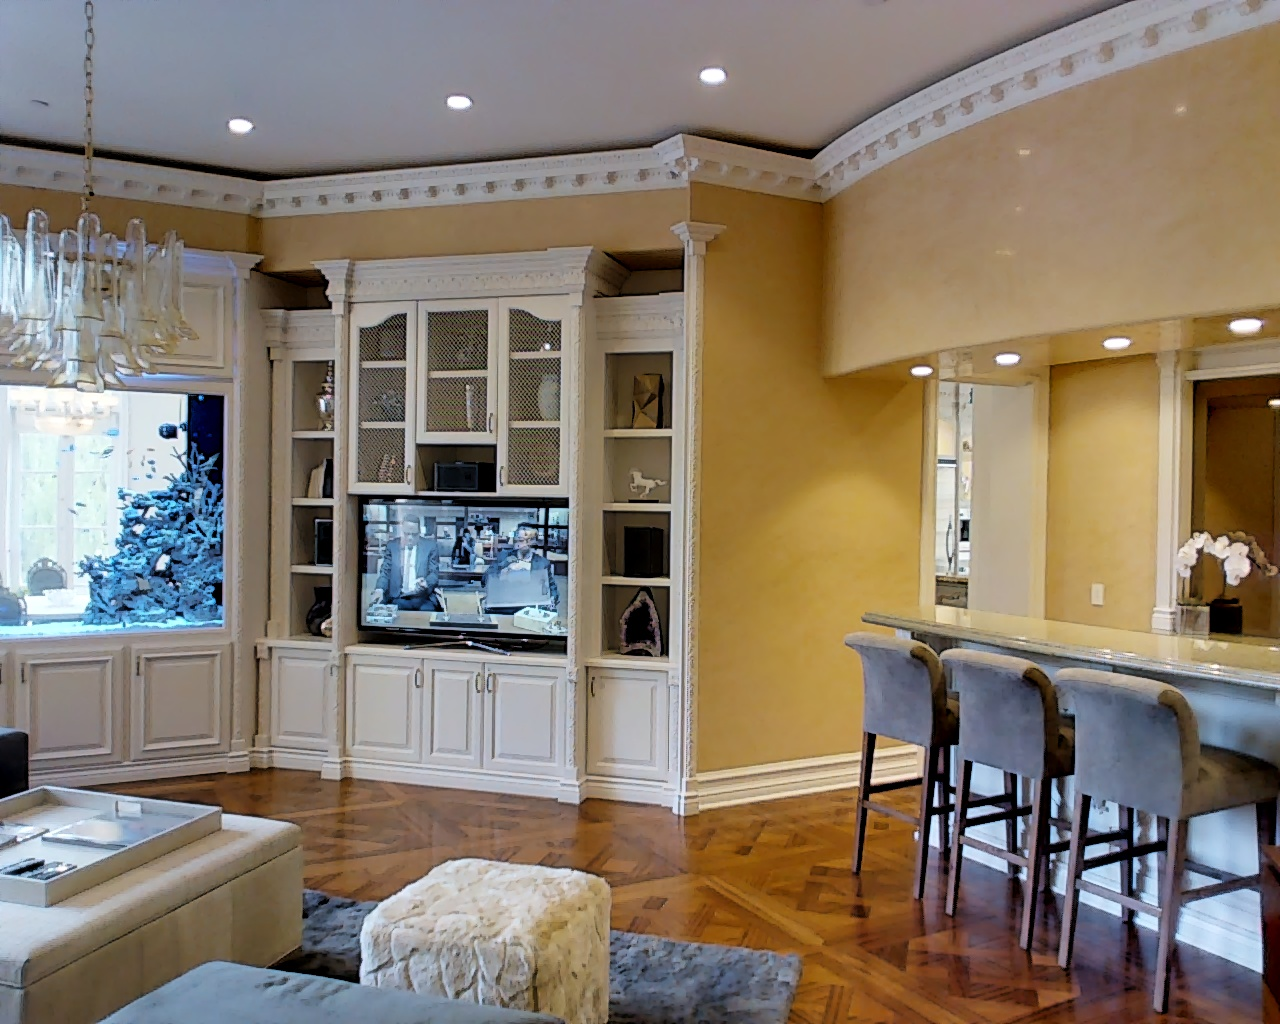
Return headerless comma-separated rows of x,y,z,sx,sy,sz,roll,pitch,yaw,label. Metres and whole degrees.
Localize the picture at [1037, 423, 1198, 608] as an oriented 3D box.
2.979,0.010,6.770,0.070,1.080,1.100,0,1,-27,picture
